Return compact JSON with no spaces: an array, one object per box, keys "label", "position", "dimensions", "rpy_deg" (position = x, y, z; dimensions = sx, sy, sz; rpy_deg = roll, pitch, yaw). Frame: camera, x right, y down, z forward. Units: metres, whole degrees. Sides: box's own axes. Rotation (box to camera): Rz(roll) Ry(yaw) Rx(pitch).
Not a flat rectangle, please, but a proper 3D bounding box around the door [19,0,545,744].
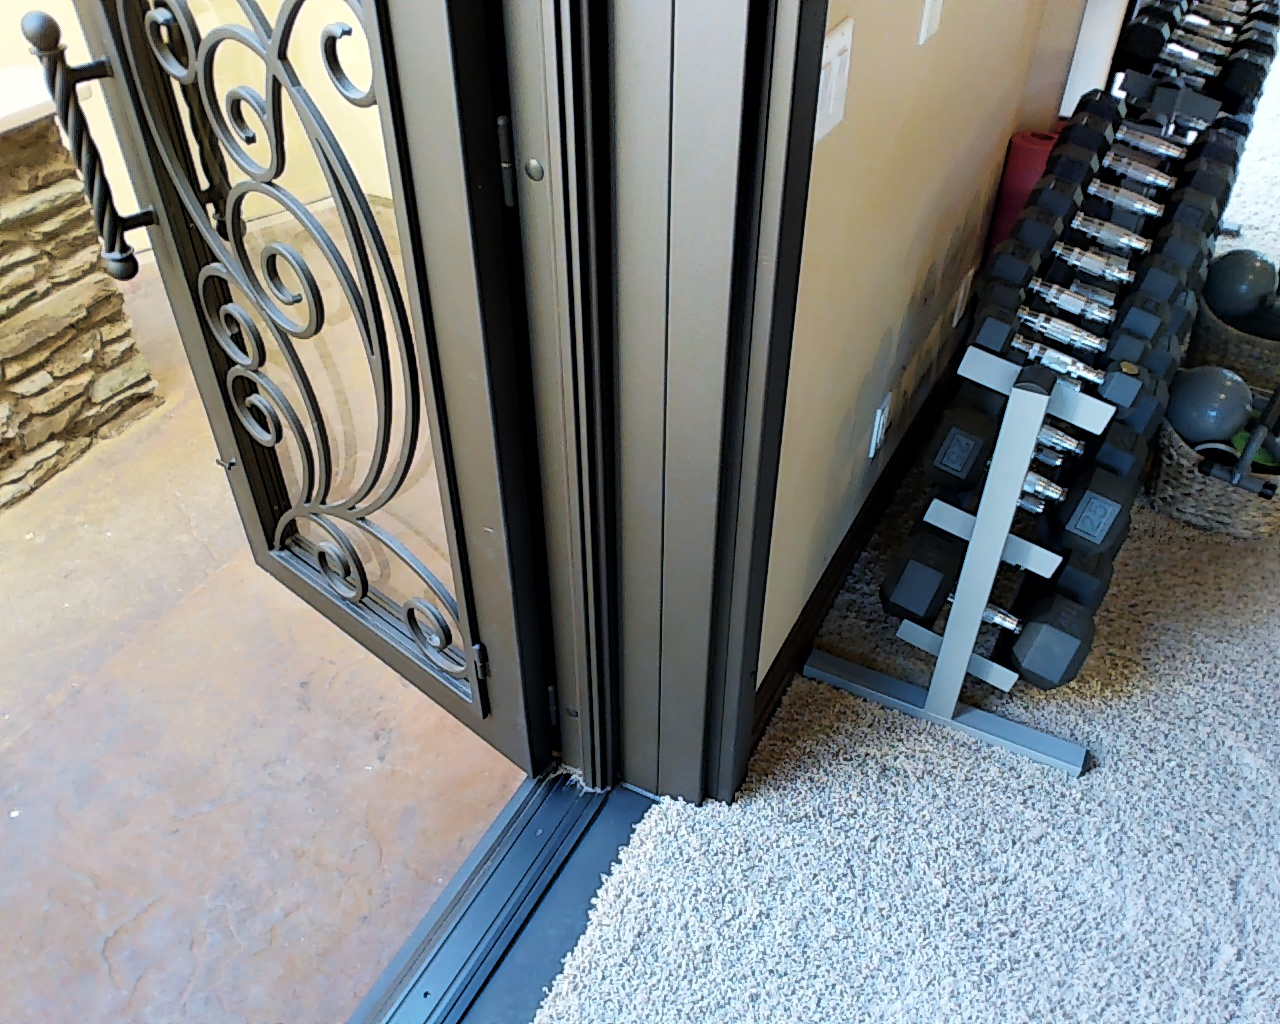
[{"label":"door","position":[-0.530,-0.590,1.380],"dimensions":[0.770,2.180,0.140],"rpy_deg":[28,50,28]}]
